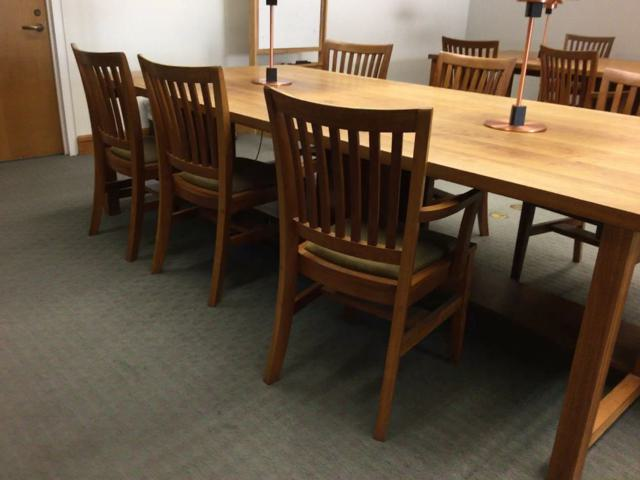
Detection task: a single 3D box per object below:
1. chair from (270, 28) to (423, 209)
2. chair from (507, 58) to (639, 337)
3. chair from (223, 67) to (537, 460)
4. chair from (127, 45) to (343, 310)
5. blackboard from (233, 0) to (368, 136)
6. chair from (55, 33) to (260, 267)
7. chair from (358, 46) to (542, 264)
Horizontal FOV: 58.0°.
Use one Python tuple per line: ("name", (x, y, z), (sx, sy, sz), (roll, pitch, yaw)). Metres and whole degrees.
("chair", (0.150, -0.790, 3.580), (0.590, 0.940, 0.680), (-19, 30, -38))
("chair", (1.230, -0.220, 2.340), (0.620, 0.910, 0.550), (-19, 30, -38))
("chair", (0.160, 0.000, 1.760), (0.620, 0.920, 0.590), (-19, 29, -37))
("chair", (-0.330, -0.310, 2.440), (0.650, 0.910, 0.530), (-19, 29, -37))
("blackboard", (-0.150, -1.590, 4.890), (0.940, 1.180, 0.610), (-19, 30, -38))
("chair", (-0.750, -0.480, 2.790), (0.670, 0.930, 0.580), (-19, 29, -37))
("chair", (0.630, -0.470, 2.930), (0.630, 0.910, 0.570), (-19, 30, -38))
